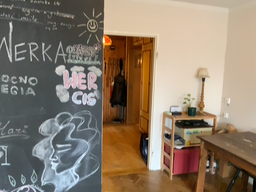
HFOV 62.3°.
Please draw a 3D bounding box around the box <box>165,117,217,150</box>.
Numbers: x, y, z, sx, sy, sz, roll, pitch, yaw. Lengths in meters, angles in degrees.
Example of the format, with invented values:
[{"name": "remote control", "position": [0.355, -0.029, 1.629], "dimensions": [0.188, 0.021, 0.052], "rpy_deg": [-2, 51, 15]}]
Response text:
[{"name": "box", "position": [0.910, 0.530, 3.110], "dimensions": [0.590, 0.360, 0.380], "rpy_deg": [1, 8, -12]}]
